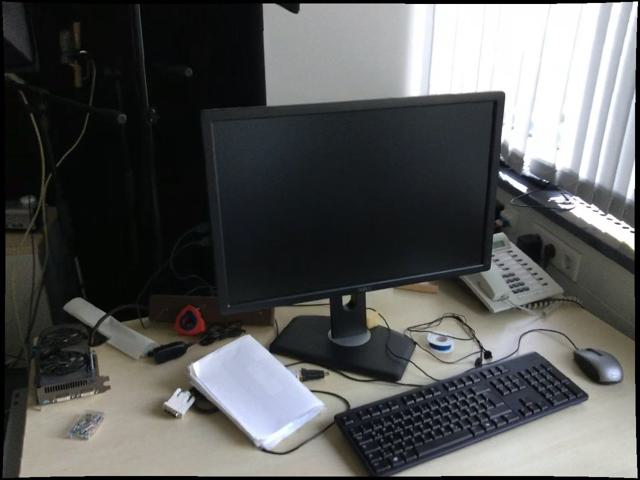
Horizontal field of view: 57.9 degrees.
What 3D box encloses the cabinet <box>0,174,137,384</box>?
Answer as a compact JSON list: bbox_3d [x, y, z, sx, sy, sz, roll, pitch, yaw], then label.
[{"bbox_3d":[-1.299,0.160,2.280,1.019,0.600,0.550,-7,27,-14],"label":"cabinet"}]
